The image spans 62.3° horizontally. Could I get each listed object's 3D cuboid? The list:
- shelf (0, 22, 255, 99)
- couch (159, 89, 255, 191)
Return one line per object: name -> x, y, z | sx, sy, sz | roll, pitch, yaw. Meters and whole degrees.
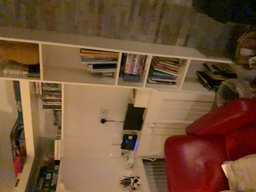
shelf -> -0.060, -0.300, 1.930 | 0.400, 2.470, 0.380 | -109, 25, -58
couch -> 0.820, 0.540, 1.660 | 0.890, 0.790, 0.840 | 120, 150, -63
